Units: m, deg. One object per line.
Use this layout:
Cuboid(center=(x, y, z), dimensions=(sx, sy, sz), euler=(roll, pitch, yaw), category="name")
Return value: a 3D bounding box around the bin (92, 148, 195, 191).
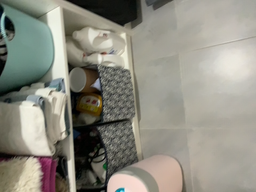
Cuboid(center=(0.110, 0.520, 1.170), dimensions=(0.330, 0.450, 0.320), euler=(-21, 79, 33), category="bin")
